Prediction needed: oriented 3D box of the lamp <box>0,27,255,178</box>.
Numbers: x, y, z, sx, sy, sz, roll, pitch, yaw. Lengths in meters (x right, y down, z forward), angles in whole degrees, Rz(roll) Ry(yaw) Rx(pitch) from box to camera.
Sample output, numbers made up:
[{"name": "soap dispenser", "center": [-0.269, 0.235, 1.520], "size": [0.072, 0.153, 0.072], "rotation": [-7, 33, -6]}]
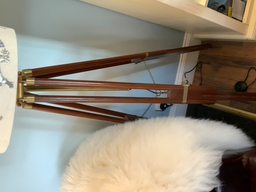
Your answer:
[{"name": "lamp", "center": [0.010, -0.010, 0.910], "size": [0.370, 1.330, 0.340], "rotation": [27, 110, 50]}]
